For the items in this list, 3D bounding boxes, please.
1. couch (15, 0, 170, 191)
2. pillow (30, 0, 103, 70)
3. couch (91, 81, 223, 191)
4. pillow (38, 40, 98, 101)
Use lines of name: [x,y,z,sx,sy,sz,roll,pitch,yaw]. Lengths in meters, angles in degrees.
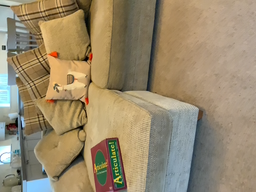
couch: [-0.450,-0.220,1.880,1.130,0.950,2.120,26,112,58]
pillow: [-0.480,-0.500,1.710,0.420,0.400,0.080,-62,25,-11]
couch: [0.120,0.350,1.350,0.580,0.480,0.790,26,112,58]
pillow: [-0.490,-0.200,1.760,0.130,0.340,0.390,25,93,48]
